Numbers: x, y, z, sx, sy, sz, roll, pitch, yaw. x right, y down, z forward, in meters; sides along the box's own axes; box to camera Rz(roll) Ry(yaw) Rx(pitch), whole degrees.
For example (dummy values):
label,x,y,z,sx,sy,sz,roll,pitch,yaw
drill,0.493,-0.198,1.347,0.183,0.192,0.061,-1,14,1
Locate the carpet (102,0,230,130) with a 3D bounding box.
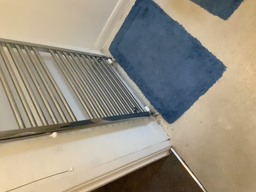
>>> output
label,x,y,z,sx,sy,sz,roll,pitch,yaw
carpet,0.170,-0.260,1.440,0.830,0.040,0.520,51,121,26
